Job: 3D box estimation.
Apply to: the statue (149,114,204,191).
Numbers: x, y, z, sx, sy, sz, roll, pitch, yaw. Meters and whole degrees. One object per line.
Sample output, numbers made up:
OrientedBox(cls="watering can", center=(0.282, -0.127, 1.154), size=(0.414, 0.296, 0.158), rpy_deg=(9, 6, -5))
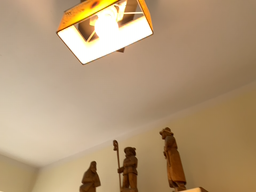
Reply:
OrientedBox(cls="statue", center=(0.220, 0.300, 1.010), size=(0.160, 0.360, 0.160), rpy_deg=(-25, -47, 26))

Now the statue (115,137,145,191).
OrientedBox(cls="statue", center=(0.010, 0.420, 1.190), size=(0.140, 0.350, 0.080), rpy_deg=(-29, -49, 29))

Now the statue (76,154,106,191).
OrientedBox(cls="statue", center=(-0.230, 0.540, 1.310), size=(0.130, 0.310, 0.110), rpy_deg=(-30, -50, 30))

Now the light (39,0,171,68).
OrientedBox(cls="light", center=(-0.070, -0.300, 0.690), size=(0.320, 0.260, 0.180), rpy_deg=(34, -43, 11))
